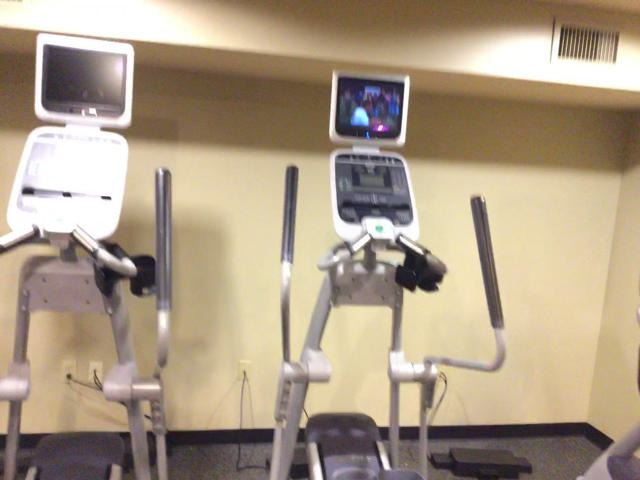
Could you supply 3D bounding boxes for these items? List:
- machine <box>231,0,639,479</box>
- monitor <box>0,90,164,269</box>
[{"bbox_3d":[0.300,0.450,1.470,0.920,1.860,1.950,2,9,-11],"label":"machine"},{"bbox_3d":[-0.790,-0.190,1.860,0.370,0.420,0.100,41,-6,-16],"label":"monitor"}]
